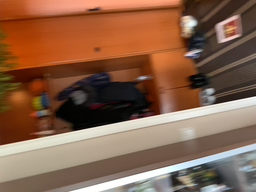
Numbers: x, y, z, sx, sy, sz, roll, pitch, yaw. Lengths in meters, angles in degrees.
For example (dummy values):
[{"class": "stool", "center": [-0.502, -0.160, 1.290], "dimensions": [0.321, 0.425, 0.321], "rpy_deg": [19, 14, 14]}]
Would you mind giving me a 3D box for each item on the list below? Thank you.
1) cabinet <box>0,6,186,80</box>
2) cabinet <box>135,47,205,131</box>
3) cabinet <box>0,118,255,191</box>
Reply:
[{"class": "cabinet", "center": [-0.420, -0.730, 2.900], "dimensions": [0.530, 2.280, 0.620], "rpy_deg": [148, 112, -75]}, {"class": "cabinet", "center": [0.550, -0.070, 2.990], "dimensions": [0.600, 0.580, 1.010], "rpy_deg": [148, 112, -75]}, {"class": "cabinet", "center": [0.360, 0.330, 0.980], "dimensions": [0.390, 2.050, 0.260], "rpy_deg": [161, 99, -76]}]
